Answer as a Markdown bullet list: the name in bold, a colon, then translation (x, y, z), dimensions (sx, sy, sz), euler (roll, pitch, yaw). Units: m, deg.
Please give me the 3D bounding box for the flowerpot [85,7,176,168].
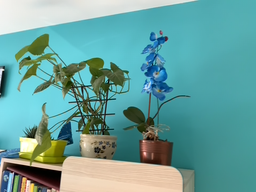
- **flowerpot**: translation (0.040, -0.020, 0.880), dimensions (0.270, 0.550, 0.290), euler (0, -11, 18)
